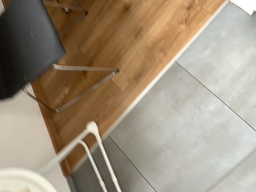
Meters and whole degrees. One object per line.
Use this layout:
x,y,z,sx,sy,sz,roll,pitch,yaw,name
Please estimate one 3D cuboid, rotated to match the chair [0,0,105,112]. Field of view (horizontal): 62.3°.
-0.600,-0.230,1.040,0.530,0.840,0.430,-29,78,17,chair
